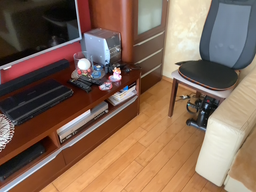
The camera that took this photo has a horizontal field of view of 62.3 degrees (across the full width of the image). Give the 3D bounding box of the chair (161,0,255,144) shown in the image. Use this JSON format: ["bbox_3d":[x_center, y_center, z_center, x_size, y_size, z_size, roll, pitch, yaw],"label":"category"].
[{"bbox_3d":[0.650,-0.280,1.620,0.450,1.110,0.570,29,47,32],"label":"chair"}]
